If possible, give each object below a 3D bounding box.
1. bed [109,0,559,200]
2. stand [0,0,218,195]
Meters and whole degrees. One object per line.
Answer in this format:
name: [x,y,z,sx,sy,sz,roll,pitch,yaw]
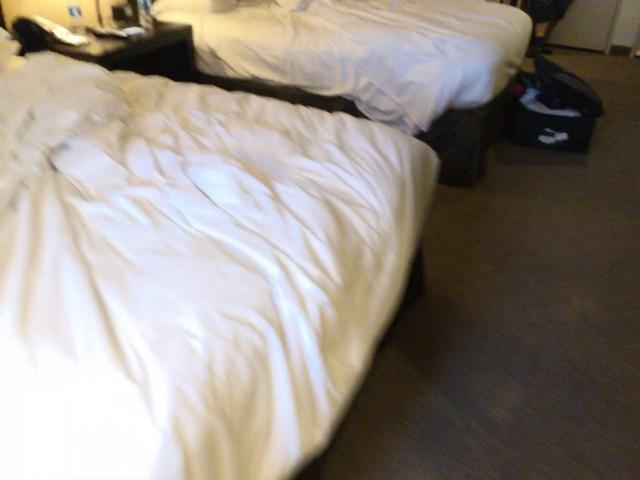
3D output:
bed: [0.210,-1.510,3.470,2.200,1.520,1.780,13,35,21]
stand: [-1.030,-0.810,3.000,0.570,0.790,0.800,13,35,21]
